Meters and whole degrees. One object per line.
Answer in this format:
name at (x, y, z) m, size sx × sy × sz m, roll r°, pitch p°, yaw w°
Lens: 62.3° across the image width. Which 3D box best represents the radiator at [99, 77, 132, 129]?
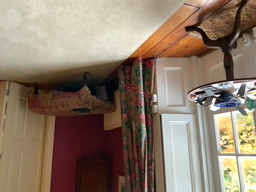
radiator at (-0.230, 0.160, 3.140) m, size 0.150 × 0.560 × 1.140 m, roll 4°, pitch 166°, yaw -20°
